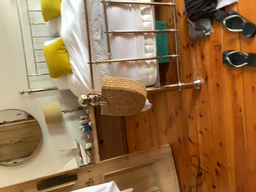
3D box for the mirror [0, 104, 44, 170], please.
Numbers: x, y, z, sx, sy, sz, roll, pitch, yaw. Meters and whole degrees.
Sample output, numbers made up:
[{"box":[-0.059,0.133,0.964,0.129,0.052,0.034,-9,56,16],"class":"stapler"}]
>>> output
[{"box":[-1.650,0.570,3.010,0.240,0.750,0.800,-4,94,65],"class":"mirror"}]
